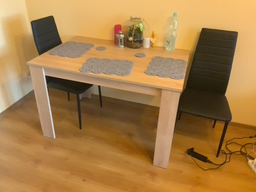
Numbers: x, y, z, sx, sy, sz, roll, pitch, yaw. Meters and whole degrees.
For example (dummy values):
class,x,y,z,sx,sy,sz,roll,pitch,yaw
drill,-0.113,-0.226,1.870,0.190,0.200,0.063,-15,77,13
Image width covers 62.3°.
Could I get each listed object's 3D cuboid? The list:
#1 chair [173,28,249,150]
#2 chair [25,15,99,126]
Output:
class,x,y,z,sx,sy,sz,roll,pitch,yaw
chair,0.700,-0.060,1.950,0.370,0.970,0.470,10,33,12
chair,-0.600,-0.240,2.130,0.480,0.990,0.370,11,33,12
